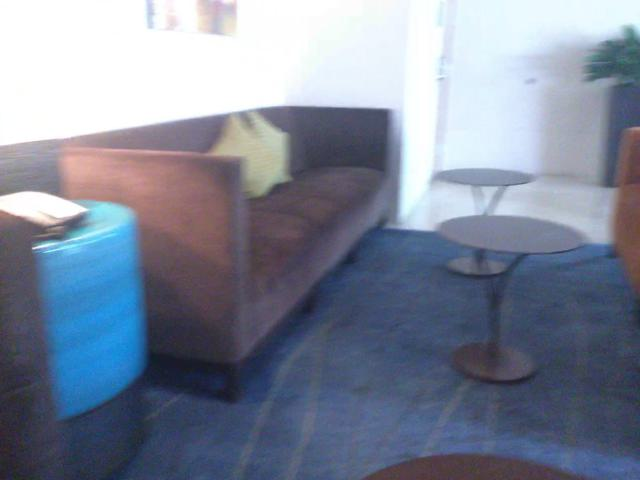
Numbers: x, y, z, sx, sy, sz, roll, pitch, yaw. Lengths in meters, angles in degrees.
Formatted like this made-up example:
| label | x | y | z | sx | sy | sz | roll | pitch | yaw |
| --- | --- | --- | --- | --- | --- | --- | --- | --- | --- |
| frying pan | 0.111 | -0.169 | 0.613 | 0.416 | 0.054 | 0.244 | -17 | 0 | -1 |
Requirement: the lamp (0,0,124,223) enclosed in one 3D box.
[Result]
| label | x | y | z | sx | sy | sz | roll | pitch | yaw |
| --- | --- | --- | --- | --- | --- | --- | --- | --- | --- |
| lamp | -0.860 | -0.350 | 1.530 | 0.320 | 0.520 | 0.540 | 2 | 17 | 19 |

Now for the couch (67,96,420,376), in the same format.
| label | x | y | z | sx | sy | sz | roll | pitch | yaw |
| --- | --- | --- | --- | --- | --- | --- | --- | --- | --- |
| couch | -0.080 | -0.270 | 3.060 | 0.820 | 0.800 | 2.400 | 2 | 17 | 19 |
